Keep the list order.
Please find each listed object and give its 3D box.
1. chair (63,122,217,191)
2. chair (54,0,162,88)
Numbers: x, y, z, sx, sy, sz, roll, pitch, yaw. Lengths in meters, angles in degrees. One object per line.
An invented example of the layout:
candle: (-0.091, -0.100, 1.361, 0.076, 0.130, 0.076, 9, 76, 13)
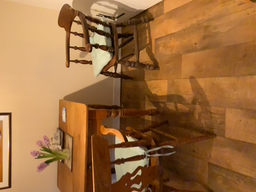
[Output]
chair: (0.070, 0.500, 1.470, 0.600, 0.880, 0.520, -1, 90, 60)
chair: (-0.220, -0.470, 2.040, 0.560, 0.810, 0.600, -35, 60, 54)
